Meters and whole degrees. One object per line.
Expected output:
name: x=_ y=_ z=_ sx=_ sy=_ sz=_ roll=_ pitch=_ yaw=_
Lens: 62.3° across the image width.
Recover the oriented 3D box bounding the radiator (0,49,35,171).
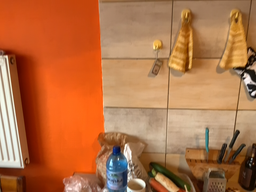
radiator: x=-0.770 y=0.080 z=1.110 sx=0.450 sy=0.630 sz=0.110 roll=1 pitch=16 yaw=3
